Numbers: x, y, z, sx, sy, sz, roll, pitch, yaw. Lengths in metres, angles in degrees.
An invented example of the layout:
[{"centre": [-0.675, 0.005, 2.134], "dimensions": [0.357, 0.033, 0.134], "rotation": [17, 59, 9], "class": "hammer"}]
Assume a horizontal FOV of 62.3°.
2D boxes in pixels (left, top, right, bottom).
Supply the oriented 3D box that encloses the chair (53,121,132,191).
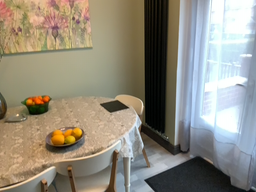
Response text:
[{"centre": [-0.260, 0.680, 1.630], "dimensions": [0.430, 0.800, 0.420], "rotation": [-11, 21, -26], "class": "chair"}]
